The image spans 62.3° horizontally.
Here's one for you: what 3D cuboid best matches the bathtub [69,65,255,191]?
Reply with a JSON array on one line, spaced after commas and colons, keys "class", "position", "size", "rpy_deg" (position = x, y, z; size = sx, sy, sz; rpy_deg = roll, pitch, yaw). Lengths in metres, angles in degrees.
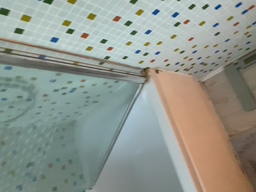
[{"class": "bathtub", "position": [0.310, 0.770, 1.150], "size": [0.740, 0.610, 1.650], "rpy_deg": [-34, 65, 37]}]
